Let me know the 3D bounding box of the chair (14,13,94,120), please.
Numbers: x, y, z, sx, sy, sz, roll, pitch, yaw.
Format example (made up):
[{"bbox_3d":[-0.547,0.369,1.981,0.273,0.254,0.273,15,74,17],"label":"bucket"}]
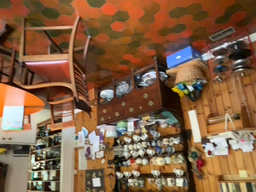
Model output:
[{"bbox_3d":[-0.660,-0.260,2.040,0.540,0.870,0.440,-6,162,4],"label":"chair"}]

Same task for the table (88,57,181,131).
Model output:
[{"bbox_3d":[0.020,0.060,3.310,1.400,0.740,0.520,-19,157,39],"label":"table"}]

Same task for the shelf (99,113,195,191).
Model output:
[{"bbox_3d":[0.170,0.970,3.110,1.480,1.130,0.260,-19,157,39],"label":"shelf"}]
